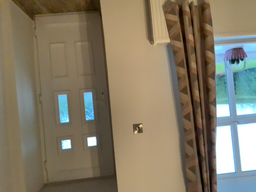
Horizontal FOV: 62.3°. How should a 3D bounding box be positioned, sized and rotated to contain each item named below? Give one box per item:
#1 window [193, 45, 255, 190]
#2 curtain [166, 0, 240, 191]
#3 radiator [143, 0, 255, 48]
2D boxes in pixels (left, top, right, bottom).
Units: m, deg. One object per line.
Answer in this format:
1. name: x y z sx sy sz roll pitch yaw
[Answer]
1. window: 1.310 0.220 2.470 0.940 1.590 0.100 -5 179 -4
2. curtain: 0.640 0.070 1.840 0.400 1.870 0.220 -5 179 -5
3. radiator: 0.970 -0.850 1.960 1.630 0.660 0.150 -5 179 -4
